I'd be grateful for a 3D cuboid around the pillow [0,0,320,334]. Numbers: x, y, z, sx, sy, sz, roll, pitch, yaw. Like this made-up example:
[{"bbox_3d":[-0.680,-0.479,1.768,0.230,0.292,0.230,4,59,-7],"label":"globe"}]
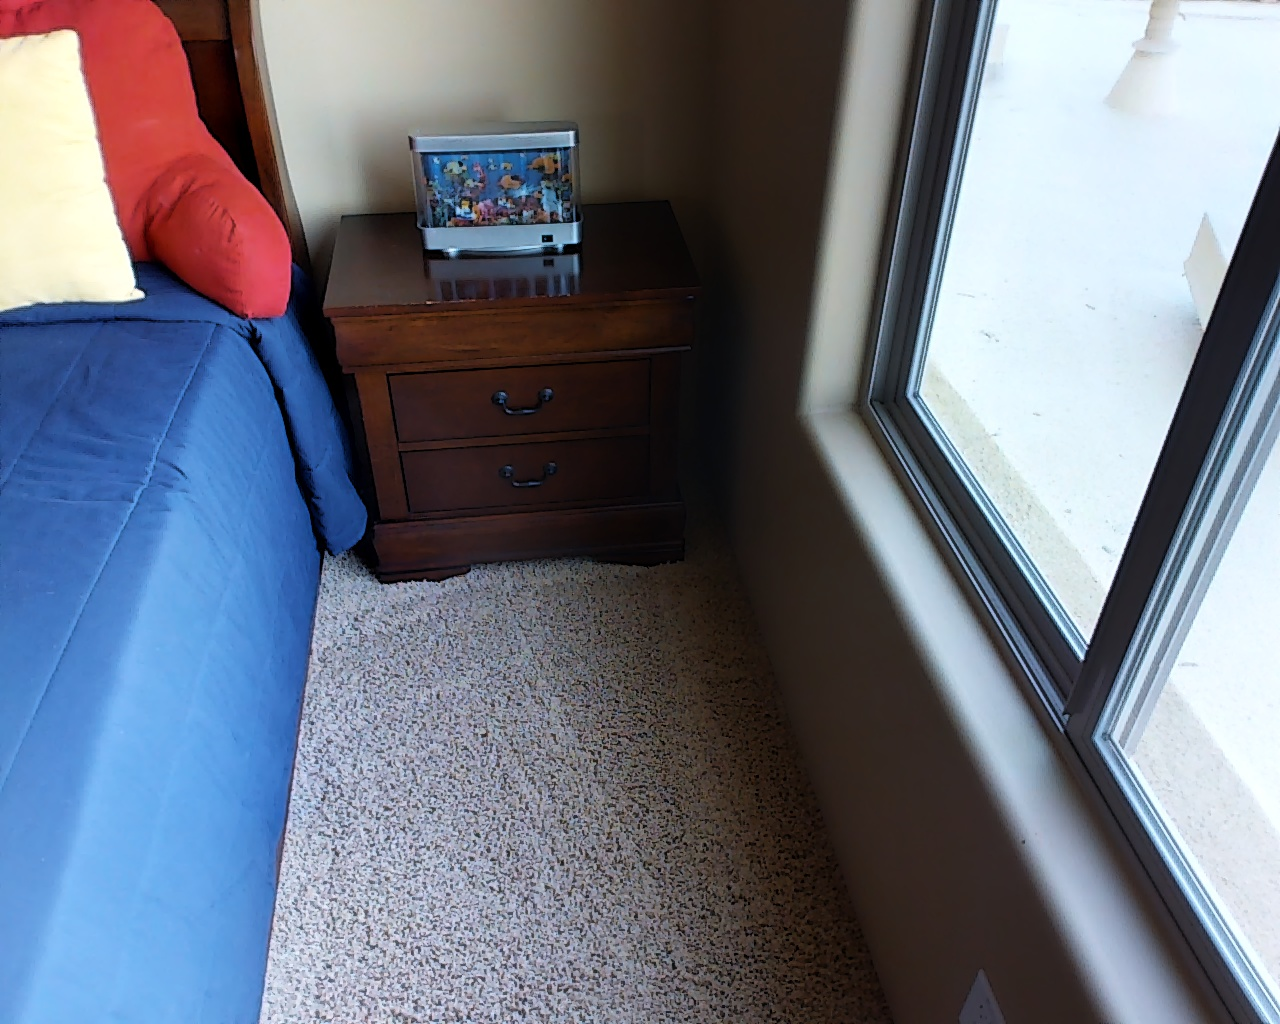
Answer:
[{"bbox_3d":[-0.980,-0.610,1.730,0.780,0.440,0.500,-6,39,-6],"label":"pillow"}]
